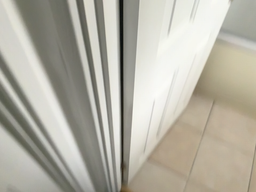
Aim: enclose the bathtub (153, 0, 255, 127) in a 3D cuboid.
[{"bbox_3d":[1.150,-0.170,1.480,1.740,0.540,0.720,22,56,14],"label":"bathtub"}]
